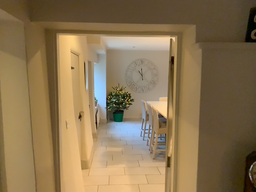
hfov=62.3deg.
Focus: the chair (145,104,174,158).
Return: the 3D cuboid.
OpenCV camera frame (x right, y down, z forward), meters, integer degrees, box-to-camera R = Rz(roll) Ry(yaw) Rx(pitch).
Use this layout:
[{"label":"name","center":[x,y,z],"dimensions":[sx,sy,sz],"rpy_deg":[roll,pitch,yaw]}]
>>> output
[{"label":"chair","center":[0.630,0.690,4.310],"dimensions":[0.470,0.980,0.440],"rpy_deg":[0,7,-5]}]
